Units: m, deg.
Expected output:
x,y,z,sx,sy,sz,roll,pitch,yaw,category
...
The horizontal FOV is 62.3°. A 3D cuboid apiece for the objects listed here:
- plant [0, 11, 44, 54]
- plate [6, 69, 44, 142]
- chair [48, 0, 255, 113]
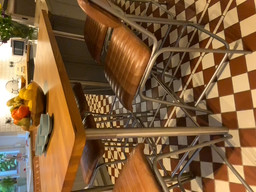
x,y,z,sx,sy,sz,roll,pitch,yaw,category
-1.230,-0.700,2.340,0.300,0.500,0.310,55,134,47,plant
-0.600,0.050,1.220,0.280,0.160,0.300,53,133,49,plate
0.120,-0.230,1.170,0.410,0.960,0.500,56,135,47,chair
